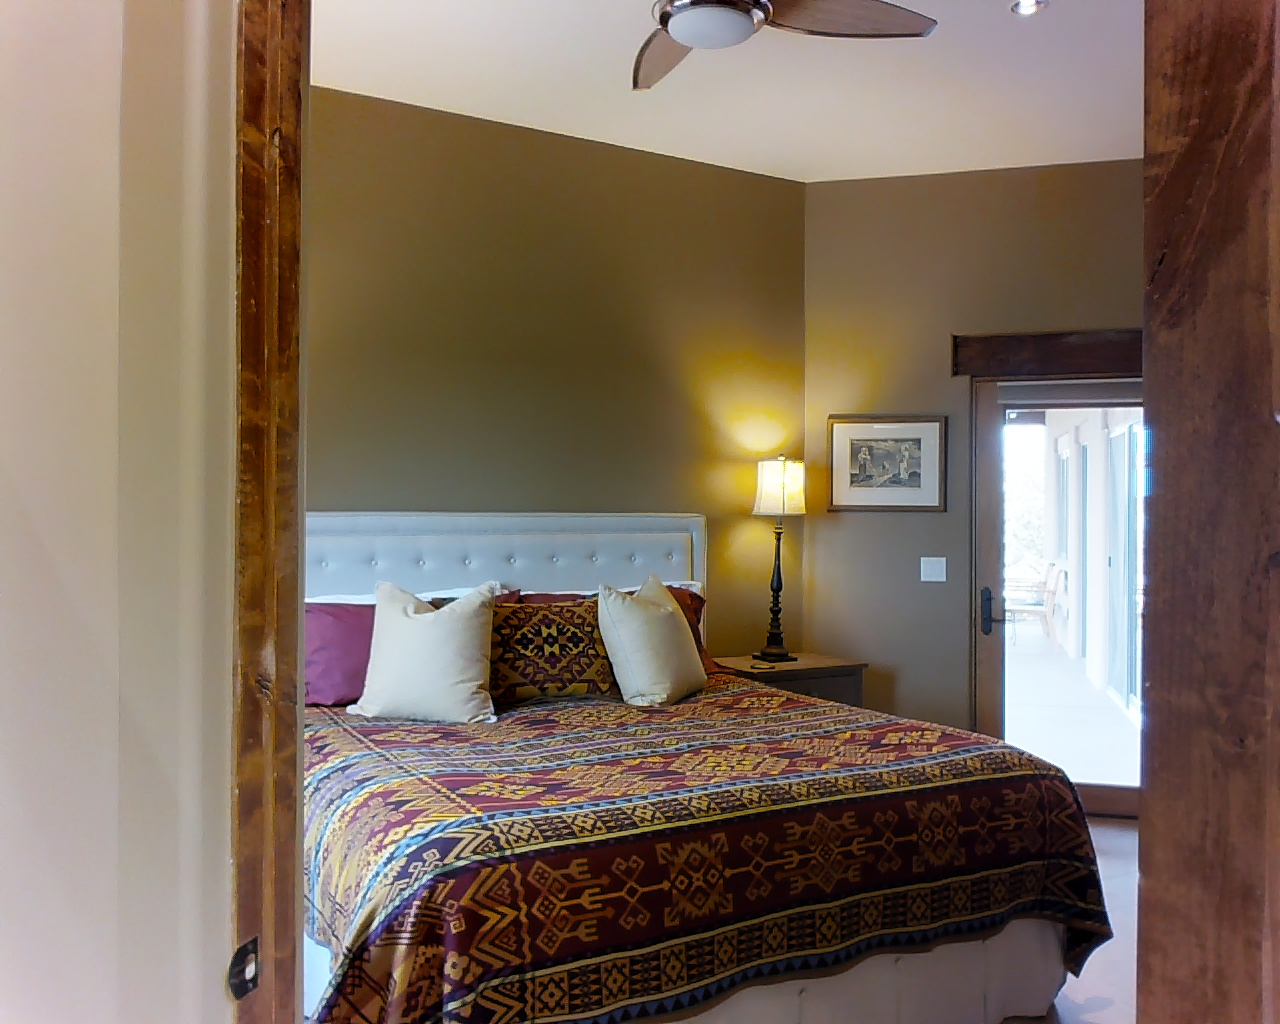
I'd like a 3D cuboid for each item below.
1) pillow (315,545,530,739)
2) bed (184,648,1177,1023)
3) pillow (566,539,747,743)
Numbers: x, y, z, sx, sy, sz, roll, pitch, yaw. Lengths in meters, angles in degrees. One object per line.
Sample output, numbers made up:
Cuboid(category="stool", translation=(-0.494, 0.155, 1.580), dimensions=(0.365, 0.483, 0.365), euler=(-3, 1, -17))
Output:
Cuboid(category="pillow", translation=(-0.730, 0.450, 3.680), dimensions=(0.540, 0.500, 0.300), euler=(16, -10, 4))
Cuboid(category="bed", translation=(-0.070, 1.060, 3.430), dimensions=(2.260, 0.890, 2.330), euler=(1, 0, -30))
Cuboid(category="pillow", translation=(0.080, 0.500, 4.090), dimensions=(0.320, 0.570, 0.540), euler=(18, -16, 29))
